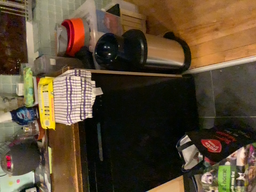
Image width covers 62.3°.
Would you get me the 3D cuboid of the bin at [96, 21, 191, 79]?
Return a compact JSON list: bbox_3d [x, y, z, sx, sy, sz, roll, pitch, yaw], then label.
[{"bbox_3d":[0.120,-0.260,1.360,0.240,0.590,0.260,-5,88,50],"label":"bin"}]
